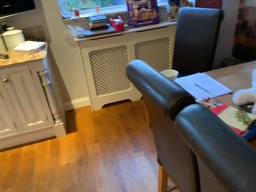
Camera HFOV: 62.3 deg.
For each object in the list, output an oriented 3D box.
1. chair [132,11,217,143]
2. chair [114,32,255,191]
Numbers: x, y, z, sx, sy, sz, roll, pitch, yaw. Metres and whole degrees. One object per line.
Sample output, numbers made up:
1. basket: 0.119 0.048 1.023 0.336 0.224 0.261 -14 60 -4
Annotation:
1. chair: 0.450 -0.200 2.070 0.450 1.070 0.590 23 41 39
2. chair: 0.360 0.300 1.190 0.640 1.100 0.530 -14 31 -15
